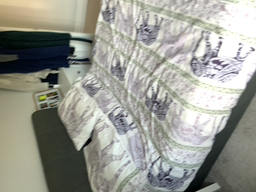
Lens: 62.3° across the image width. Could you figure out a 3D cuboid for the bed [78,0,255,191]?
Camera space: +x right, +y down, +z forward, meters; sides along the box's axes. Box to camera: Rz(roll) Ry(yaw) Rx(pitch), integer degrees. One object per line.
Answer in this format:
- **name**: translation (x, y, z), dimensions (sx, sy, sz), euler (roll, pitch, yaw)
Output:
- **bed**: translation (0.210, -0.420, 1.650), dimensions (1.620, 0.470, 2.270), euler (49, 133, 45)
